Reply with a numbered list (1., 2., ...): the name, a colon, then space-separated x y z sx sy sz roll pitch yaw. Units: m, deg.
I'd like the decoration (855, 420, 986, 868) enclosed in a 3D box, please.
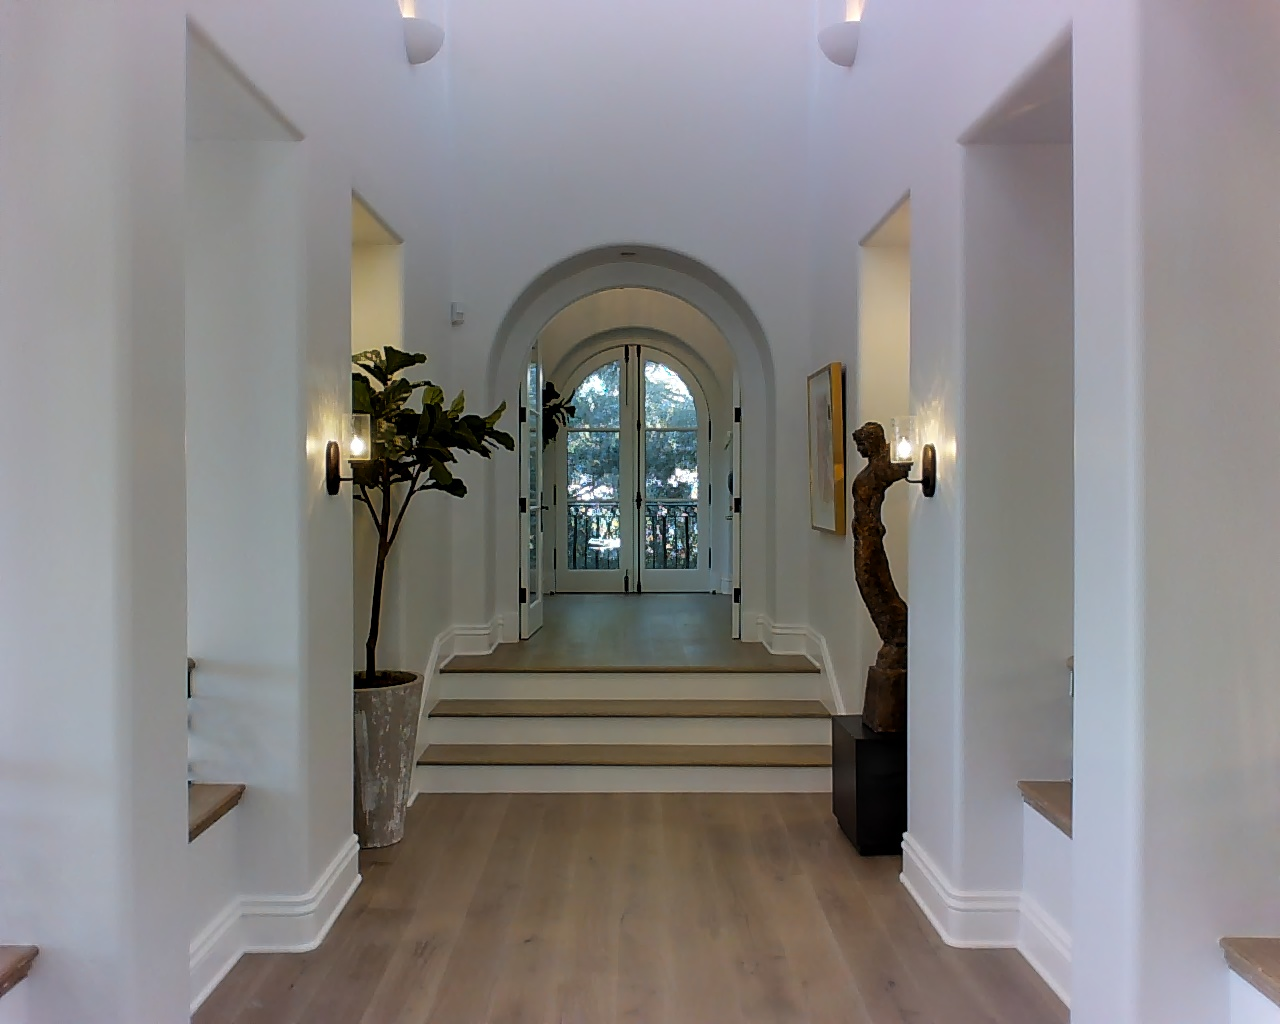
1. decoration: 1.230 0.550 4.770 0.430 1.881 0.540 0 2 -1
